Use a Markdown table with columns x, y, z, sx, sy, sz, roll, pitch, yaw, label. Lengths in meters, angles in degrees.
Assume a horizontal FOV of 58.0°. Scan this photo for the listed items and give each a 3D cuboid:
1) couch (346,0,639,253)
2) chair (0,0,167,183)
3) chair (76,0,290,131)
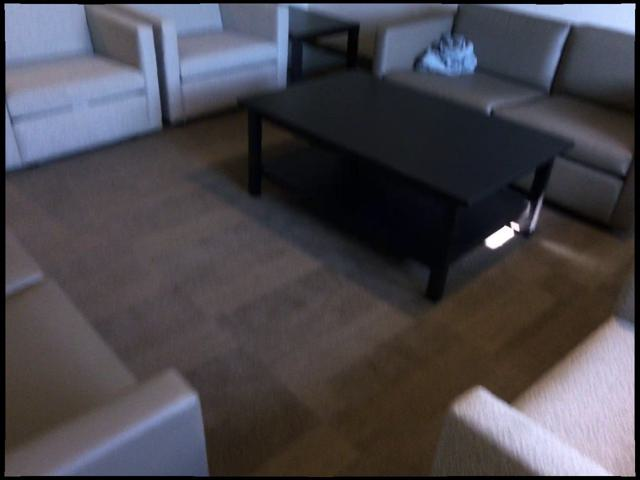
| x | y | z | sx | sy | sz | roll | pitch | yaw | label |
| --- | --- | --- | --- | --- | --- | --- | --- | --- | --- |
| 1.058 | -0.762 | 3.020 | 0.919 | 0.721 | 1.599 | -28 | 46 | -37 | couch |
| -1.447 | -0.892 | 2.910 | 0.959 | 0.741 | 0.799 | -28 | 46 | -37 | chair |
| -0.808 | -1.253 | 3.500 | 0.929 | 0.721 | 0.829 | -28 | 46 | -37 | chair |
